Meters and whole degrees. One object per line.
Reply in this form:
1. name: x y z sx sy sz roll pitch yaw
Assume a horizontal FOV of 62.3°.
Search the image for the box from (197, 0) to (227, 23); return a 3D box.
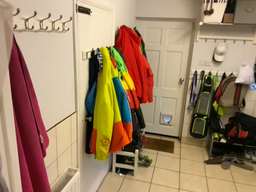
1. box: 1.100 -1.180 2.780 0.290 0.400 0.400 7 17 12
